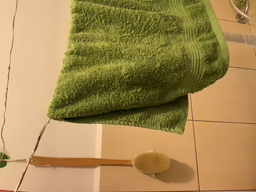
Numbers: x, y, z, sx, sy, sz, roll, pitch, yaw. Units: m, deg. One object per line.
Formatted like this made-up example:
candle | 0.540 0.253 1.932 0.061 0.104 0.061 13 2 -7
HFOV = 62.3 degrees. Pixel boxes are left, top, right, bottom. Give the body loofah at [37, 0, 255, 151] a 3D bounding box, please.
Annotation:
body loofah | 0.030 -0.070 0.500 0.240 0.370 0.370 130 143 -70
